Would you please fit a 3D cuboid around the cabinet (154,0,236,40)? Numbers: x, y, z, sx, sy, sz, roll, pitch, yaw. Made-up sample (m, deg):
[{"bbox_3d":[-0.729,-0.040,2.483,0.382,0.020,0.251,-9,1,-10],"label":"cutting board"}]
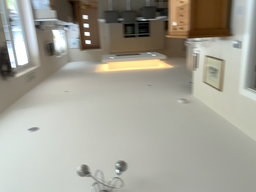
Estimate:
[{"bbox_3d":[0.830,-1.530,2.870,0.730,1.420,1.080,-4,-163,-6],"label":"cabinet"}]
